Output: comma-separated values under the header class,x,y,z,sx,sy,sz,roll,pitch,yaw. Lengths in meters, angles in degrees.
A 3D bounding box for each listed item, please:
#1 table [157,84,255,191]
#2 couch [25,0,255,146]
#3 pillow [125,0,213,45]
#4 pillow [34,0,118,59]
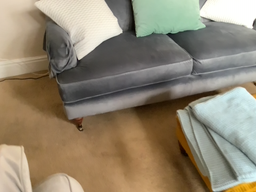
class,x,y,z,sx,sy,sz,roll,pitch,yaw
table,0.700,0.310,1.100,0.840,0.360,0.670,-12,42,-17
couch,0.260,-0.470,1.690,1.790,0.800,1.010,-11,41,-16
pillow,0.300,-0.660,1.620,0.620,0.350,0.190,-19,68,-10
pillow,-0.300,-0.520,1.400,0.210,0.500,0.450,33,95,0
